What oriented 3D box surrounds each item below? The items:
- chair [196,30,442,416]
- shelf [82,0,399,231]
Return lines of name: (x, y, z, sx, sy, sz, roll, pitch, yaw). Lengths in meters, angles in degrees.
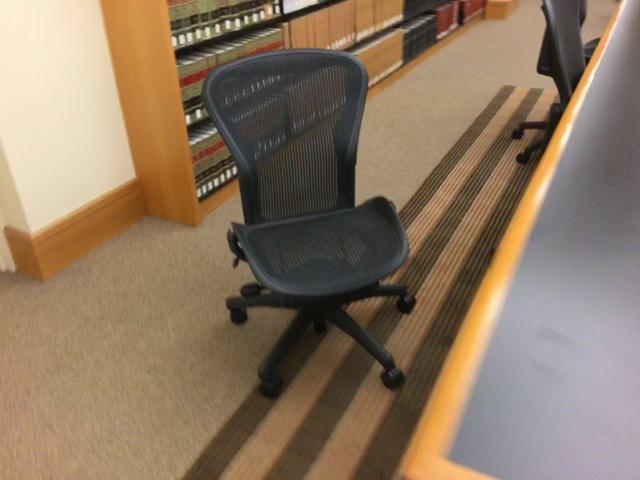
chair: (-0.030, -0.090, 1.830, 0.520, 0.940, 0.690, -10, 31, -11)
shelf: (-0.180, -1.280, 3.390, 0.380, 1.380, 2.600, 12, 34, 25)
